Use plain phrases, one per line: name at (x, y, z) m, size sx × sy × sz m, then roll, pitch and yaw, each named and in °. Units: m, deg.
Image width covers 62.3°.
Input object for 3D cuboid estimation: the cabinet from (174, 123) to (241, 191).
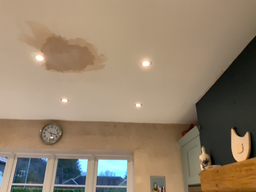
cabinet at (0.870, 0.940, 2.470) m, size 0.370 × 1.040 × 0.850 m, roll 2°, pitch -24°, yaw -3°
